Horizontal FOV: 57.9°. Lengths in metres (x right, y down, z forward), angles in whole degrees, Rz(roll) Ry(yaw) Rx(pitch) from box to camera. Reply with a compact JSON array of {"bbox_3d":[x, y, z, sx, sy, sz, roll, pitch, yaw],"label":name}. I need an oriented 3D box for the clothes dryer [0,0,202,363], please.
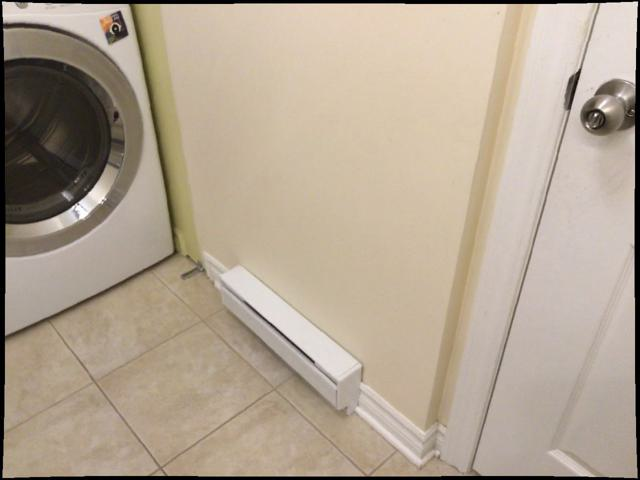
[{"bbox_3d":[-0.969,-0.370,1.690,0.740,0.971,0.900,-29,47,-31],"label":"clothes dryer"}]
